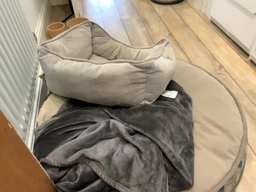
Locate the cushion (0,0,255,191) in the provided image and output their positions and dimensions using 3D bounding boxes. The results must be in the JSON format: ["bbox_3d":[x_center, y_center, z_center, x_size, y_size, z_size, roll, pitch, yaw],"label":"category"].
[{"bbox_3d":[0.070,-0.060,1.060,1.050,0.430,1.200,-9,45,-4],"label":"cushion"}]
